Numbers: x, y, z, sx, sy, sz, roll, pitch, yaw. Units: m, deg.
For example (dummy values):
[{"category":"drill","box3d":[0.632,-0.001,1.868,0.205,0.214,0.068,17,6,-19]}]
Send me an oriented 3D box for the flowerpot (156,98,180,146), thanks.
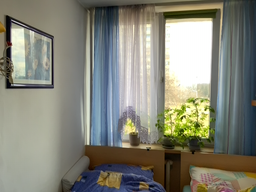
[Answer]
[{"category":"flowerpot","box3d":[0.490,0.310,2.600,0.260,0.560,0.150,1,2,4]}]
